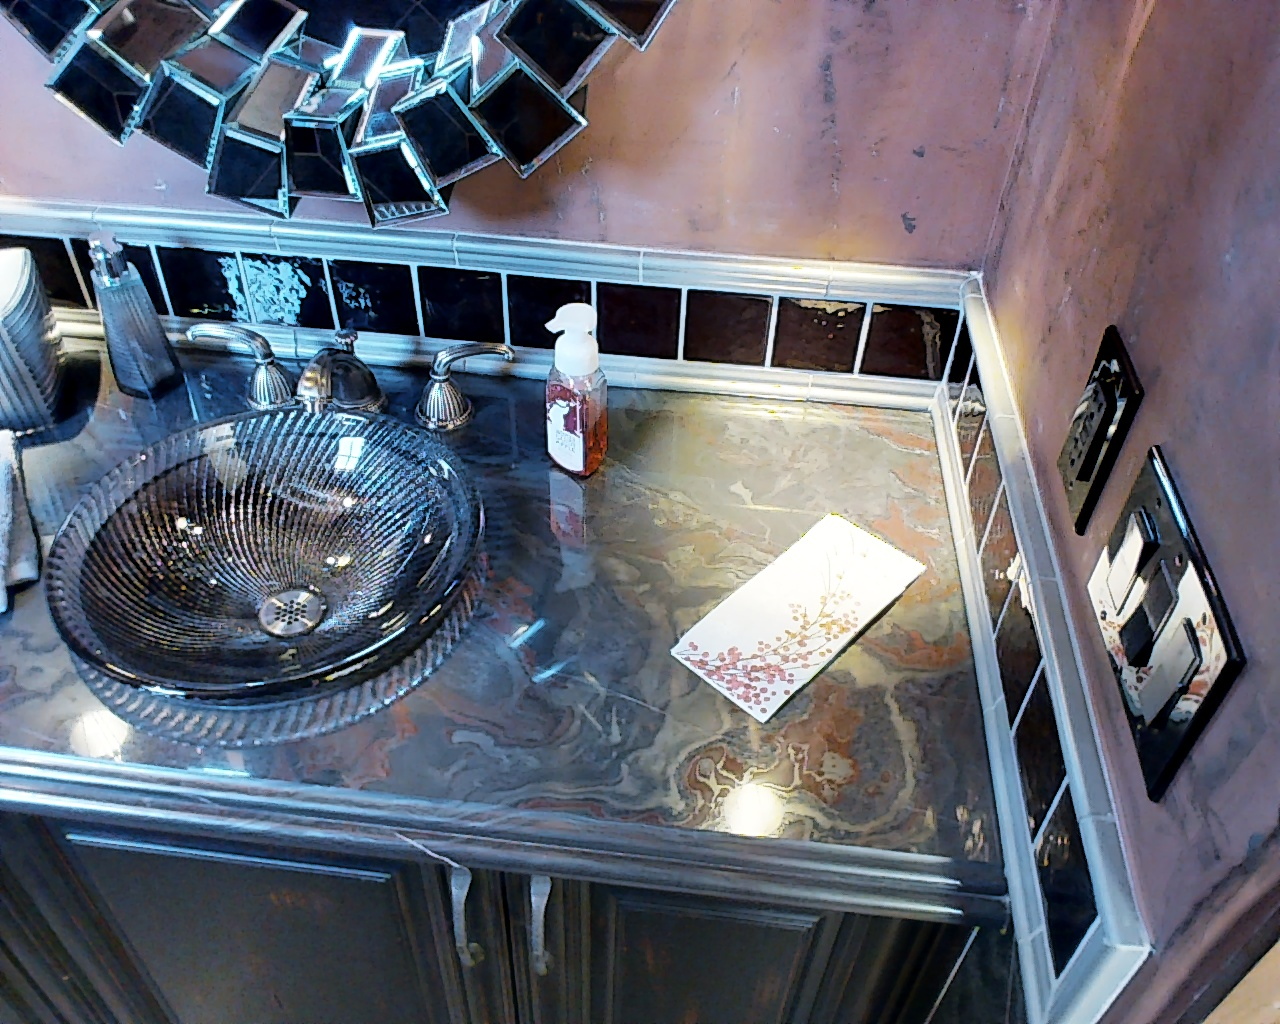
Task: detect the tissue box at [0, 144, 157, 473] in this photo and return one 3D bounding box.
[{"bbox_3d":[-0.700,-0.220,1.130,0.220,0.250,0.230,5,42,3],"label":"tissue box"}]
